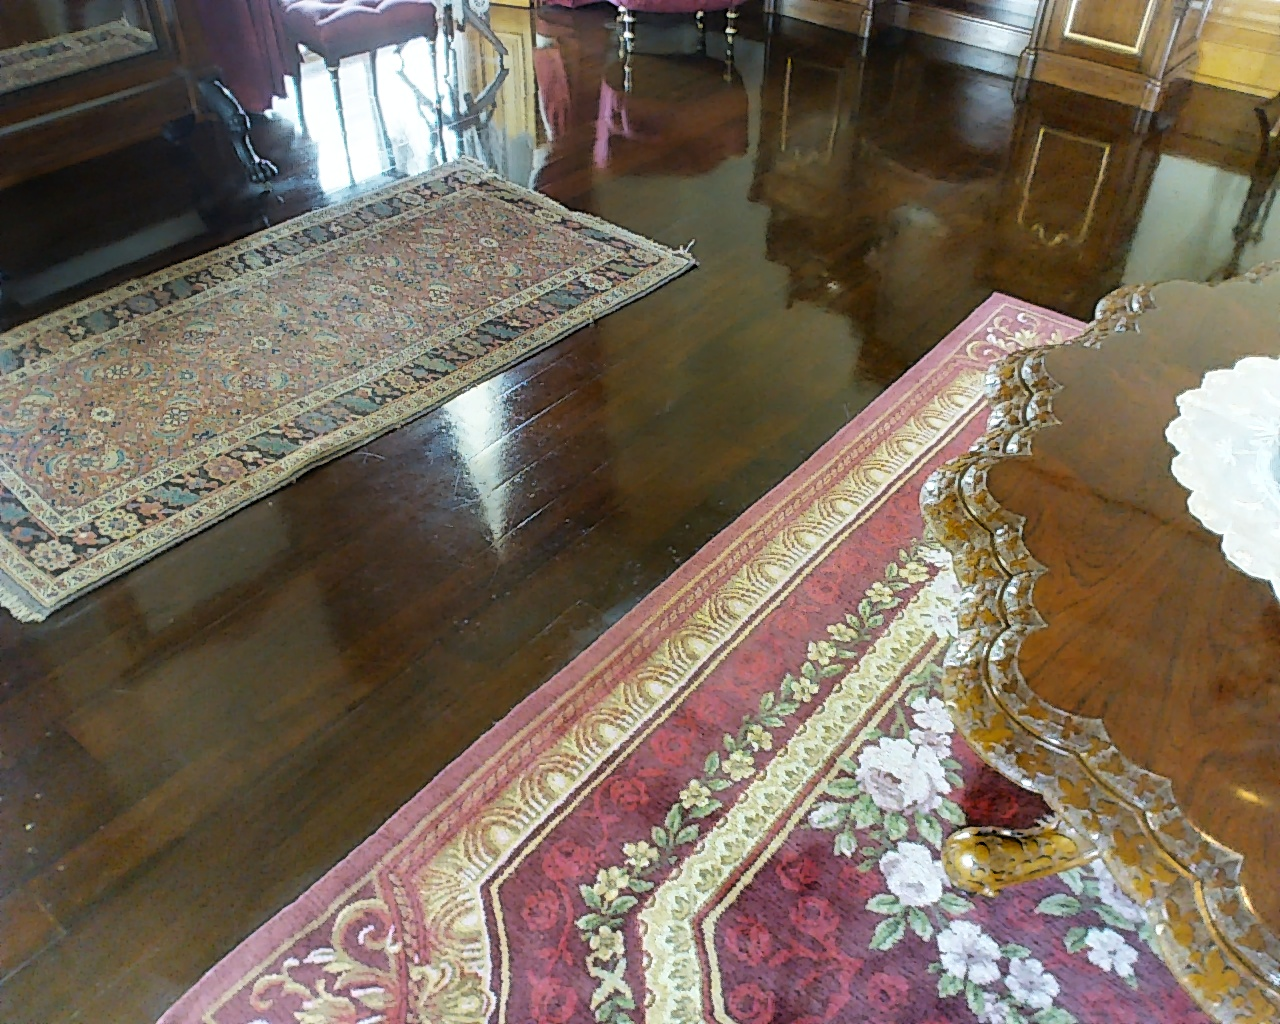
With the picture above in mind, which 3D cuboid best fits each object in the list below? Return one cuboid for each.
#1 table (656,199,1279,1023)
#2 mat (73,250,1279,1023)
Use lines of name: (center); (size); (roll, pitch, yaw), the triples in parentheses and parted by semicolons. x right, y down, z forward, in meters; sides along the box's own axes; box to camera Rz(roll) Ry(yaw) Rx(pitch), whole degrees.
table: (1.030, 0.230, 1.550); (1.560, 0.700, 1.340); (-17, 45, -20)
mat: (0.970, 0.450, 1.830); (2.250, 0.070, 2.850); (31, 49, 29)
